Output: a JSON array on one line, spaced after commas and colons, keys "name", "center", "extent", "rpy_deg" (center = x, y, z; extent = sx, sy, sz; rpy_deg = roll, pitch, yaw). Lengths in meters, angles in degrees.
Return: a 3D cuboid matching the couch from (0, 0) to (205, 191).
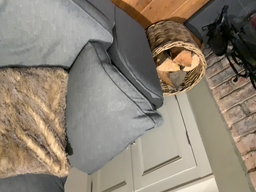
[{"name": "couch", "center": [-0.660, -0.120, 0.910], "extent": [1.480, 0.920, 1.050], "rpy_deg": [30, 128, -32]}]
